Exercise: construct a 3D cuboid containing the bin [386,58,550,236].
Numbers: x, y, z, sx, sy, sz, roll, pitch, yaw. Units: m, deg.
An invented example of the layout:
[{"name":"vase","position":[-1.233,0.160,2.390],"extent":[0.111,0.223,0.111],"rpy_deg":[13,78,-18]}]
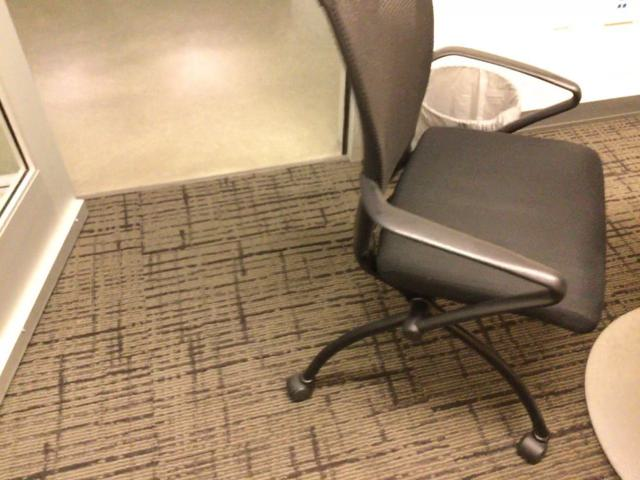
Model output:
[{"name":"bin","position":[0.410,-0.280,1.720],"extent":[0.300,0.340,0.360],"rpy_deg":[-10,47,-9]}]
